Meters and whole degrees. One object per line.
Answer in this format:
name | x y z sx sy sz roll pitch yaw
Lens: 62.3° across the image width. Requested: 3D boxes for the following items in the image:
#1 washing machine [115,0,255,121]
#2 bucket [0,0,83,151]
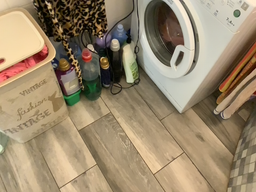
washing machine | 0.380 -0.440 1.200 0.630 0.840 0.680 -30 69 -18
bucket | -0.540 -0.070 1.040 0.450 0.650 0.320 -31 69 -19
